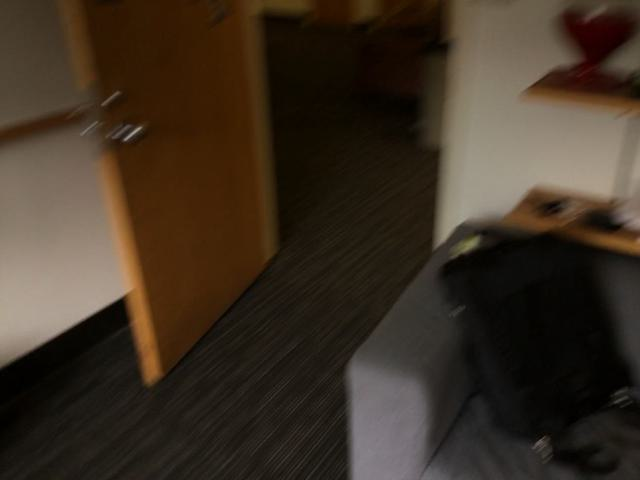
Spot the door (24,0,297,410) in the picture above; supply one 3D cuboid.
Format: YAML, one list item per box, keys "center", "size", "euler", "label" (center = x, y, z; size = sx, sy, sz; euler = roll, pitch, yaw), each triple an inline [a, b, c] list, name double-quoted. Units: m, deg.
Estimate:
- center: [-0.420, -0.610, 1.980]
  size: [0.290, 2.050, 1.160]
  euler: [7, 30, 14]
  label: "door"
